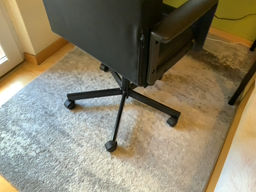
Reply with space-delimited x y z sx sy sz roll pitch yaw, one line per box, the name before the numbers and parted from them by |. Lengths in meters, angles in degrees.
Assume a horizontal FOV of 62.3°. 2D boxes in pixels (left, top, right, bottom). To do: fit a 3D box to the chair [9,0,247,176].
chair | 0.010 -0.350 0.870 0.670 1.200 0.660 36 58 24
